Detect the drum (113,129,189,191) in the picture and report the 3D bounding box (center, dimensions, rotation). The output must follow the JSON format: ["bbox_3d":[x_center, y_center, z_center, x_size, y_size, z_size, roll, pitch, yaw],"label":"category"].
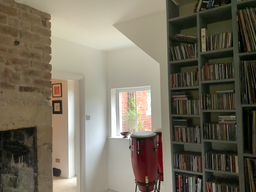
[{"bbox_3d":[0.330,1.100,2.840,0.600,1.180,0.900,-2,-2,41],"label":"drum"}]
